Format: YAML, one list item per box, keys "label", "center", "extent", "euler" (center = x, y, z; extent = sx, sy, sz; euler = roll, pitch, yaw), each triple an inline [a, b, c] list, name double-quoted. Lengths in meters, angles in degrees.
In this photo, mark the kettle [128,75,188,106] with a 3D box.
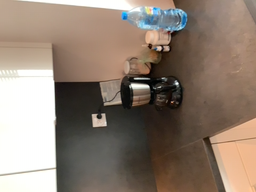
- label: "kettle"
  center: [0.150, -0.030, 1.080]
  extent: [0.080, 0.270, 0.130]
  euler: [123, 141, -59]
